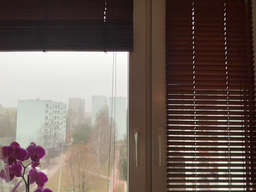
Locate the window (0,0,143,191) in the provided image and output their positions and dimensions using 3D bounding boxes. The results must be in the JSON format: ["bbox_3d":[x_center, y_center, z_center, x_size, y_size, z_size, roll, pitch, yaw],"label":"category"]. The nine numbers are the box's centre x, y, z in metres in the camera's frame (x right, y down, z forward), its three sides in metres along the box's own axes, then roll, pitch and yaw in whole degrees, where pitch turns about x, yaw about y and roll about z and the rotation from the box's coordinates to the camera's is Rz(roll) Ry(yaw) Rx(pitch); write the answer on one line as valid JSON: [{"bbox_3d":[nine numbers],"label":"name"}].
[{"bbox_3d":[-0.400,0.140,0.860,0.900,1.420,0.120,1,-4,-3],"label":"window"}]
